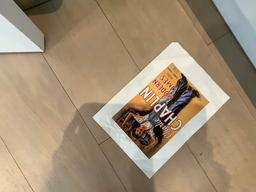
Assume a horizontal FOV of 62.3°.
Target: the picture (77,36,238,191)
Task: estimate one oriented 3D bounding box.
[{"bbox_3d":[0.080,0.050,0.580,0.340,0.070,0.250,-43,90,-5],"label":"picture"}]
